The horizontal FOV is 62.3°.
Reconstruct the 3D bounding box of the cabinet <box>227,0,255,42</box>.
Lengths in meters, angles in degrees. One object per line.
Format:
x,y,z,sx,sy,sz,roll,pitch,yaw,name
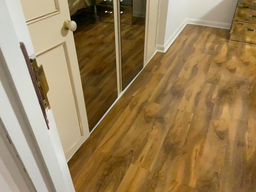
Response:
1.810,-1.150,3.020,0.560,0.580,0.460,16,40,20,cabinet
